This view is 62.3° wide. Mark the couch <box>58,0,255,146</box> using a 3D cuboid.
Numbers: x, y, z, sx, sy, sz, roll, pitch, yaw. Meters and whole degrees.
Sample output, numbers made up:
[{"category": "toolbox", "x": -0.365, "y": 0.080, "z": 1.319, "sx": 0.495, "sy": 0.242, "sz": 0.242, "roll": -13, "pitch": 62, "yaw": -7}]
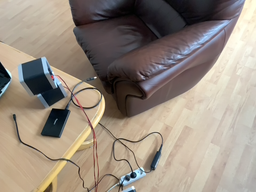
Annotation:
[{"category": "couch", "x": 0.120, "y": -0.520, "z": 1.480, "sx": 0.950, "sy": 0.940, "sz": 1.120, "roll": -24, "pitch": 55, "yaw": -11}]
